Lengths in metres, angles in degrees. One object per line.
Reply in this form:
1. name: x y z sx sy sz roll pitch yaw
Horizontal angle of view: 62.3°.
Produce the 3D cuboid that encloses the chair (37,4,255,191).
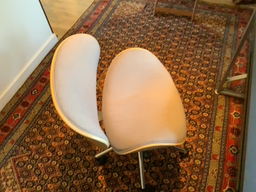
1. chair: 0.050 0.110 1.090 0.620 0.830 0.590 -7 55 -1
